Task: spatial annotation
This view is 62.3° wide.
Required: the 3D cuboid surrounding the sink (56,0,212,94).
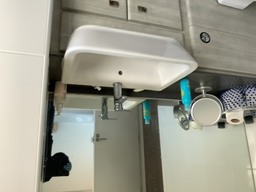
[{"bbox_3d":[-0.020,-0.180,1.040,0.600,0.180,0.510,3,164,-21],"label":"sink"}]
